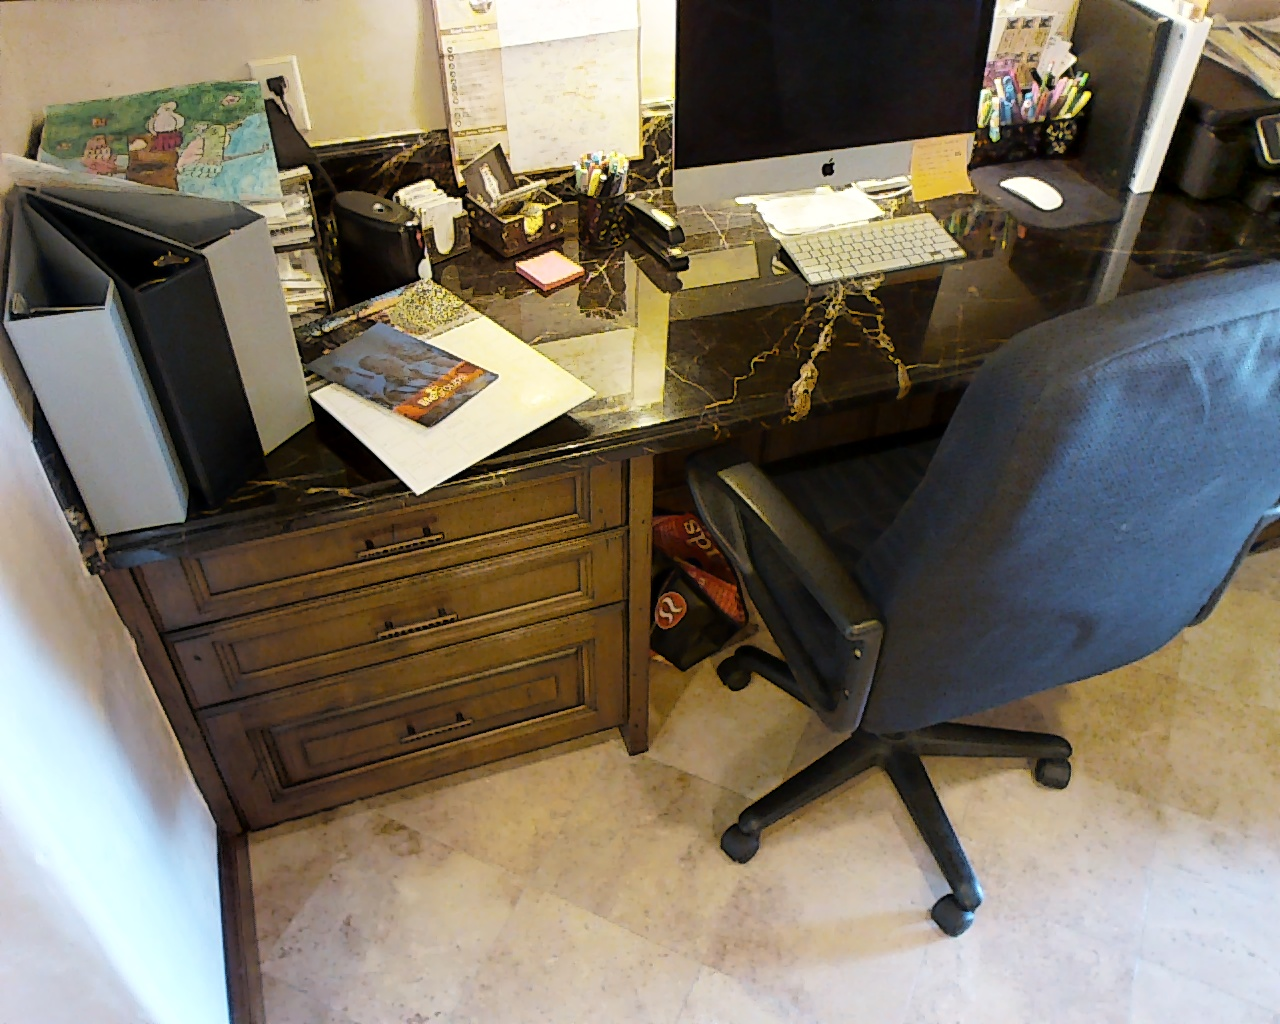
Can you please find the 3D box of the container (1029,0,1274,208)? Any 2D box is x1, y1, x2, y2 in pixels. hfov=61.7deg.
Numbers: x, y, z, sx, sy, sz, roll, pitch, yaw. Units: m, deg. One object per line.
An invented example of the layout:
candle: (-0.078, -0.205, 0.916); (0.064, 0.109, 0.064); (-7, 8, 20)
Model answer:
container: (0.880, -0.760, 1.890); (0.150, 0.310, 0.310); (-13, 44, -14)

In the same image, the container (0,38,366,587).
container: (-0.570, -0.280, 1.350); (0.290, 0.390, 0.600); (-13, 44, -14)
